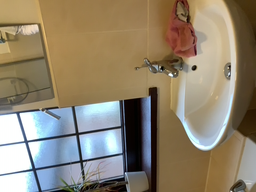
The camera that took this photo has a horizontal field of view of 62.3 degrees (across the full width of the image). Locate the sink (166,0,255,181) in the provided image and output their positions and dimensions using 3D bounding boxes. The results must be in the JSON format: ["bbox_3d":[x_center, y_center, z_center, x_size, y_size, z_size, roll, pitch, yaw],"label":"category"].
[{"bbox_3d":[0.320,-0.070,0.780,0.430,0.180,0.550,-117,23,-62],"label":"sink"}]
